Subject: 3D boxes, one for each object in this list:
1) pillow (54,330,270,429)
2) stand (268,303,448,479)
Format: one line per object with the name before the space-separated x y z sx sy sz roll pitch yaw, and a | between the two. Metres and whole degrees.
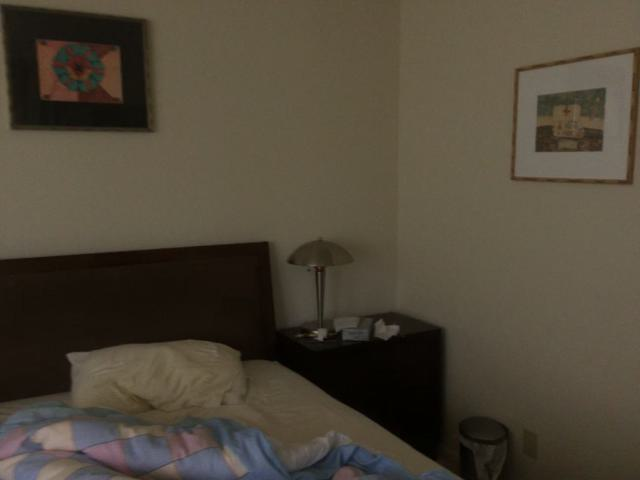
pillow | -0.550 0.480 2.090 0.670 0.160 0.440 -2 5 -14
stand | 0.190 0.710 2.740 0.760 0.680 0.380 -4 6 -30
